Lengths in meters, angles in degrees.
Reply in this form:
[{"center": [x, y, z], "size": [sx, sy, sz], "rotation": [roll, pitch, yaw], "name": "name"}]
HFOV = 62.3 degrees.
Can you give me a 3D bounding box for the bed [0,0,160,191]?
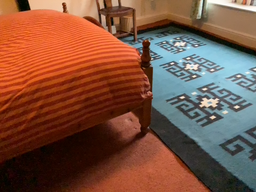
[{"center": [-1.170, -0.100, 1.530], "size": [2.160, 0.680, 1.700], "rotation": [-18, 36, -23], "name": "bed"}]
